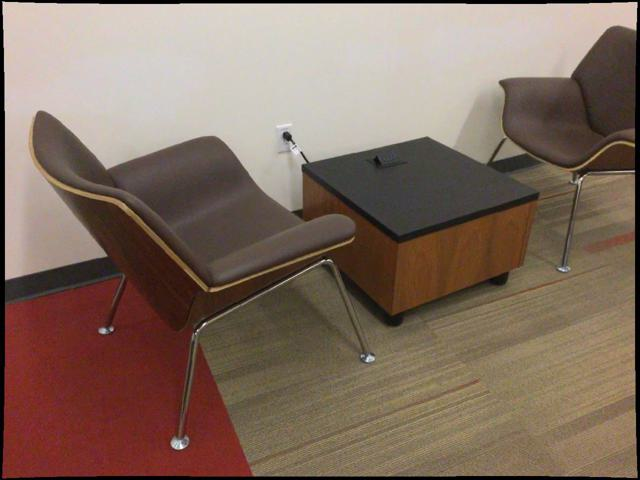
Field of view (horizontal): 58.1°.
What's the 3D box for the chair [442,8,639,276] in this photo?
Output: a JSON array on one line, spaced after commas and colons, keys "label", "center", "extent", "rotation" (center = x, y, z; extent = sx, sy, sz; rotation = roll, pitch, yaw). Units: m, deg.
[{"label": "chair", "center": [1.197, -0.501, 2.560], "extent": [0.878, 0.781, 0.900], "rotation": [-13, 34, -17]}]
